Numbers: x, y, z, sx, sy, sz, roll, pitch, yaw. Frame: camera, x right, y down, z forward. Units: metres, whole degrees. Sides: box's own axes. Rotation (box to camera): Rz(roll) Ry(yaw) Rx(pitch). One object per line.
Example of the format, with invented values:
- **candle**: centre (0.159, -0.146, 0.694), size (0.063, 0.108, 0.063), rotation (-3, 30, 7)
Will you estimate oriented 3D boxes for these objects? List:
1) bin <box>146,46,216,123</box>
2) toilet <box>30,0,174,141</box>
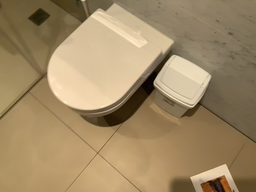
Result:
- **bin**: centre (0.250, -0.040, 1.110), size (0.220, 0.340, 0.200), rotation (38, 75, 14)
- **toilet**: centre (-0.100, -0.120, 1.110), size (0.390, 0.410, 0.510), rotation (36, 75, 14)
